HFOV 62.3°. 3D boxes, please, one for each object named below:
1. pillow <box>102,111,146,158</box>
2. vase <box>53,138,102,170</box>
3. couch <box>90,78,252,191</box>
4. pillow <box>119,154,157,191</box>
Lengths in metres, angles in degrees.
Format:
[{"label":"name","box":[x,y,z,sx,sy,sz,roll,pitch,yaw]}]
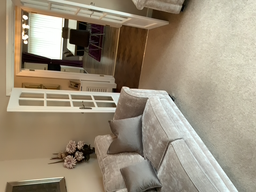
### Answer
[{"label":"pillow","box":[-0.040,0.460,2.560,0.150,0.380,0.440,2,68,60]},{"label":"vase","box":[-0.830,0.930,3.470,0.390,0.710,0.300,-142,57,-62]},{"label":"couch","box":[0.270,0.760,2.270,1.740,0.900,1.030,-114,34,-45]},{"label":"pillow","box":[0.100,0.840,2.260,0.150,0.330,0.340,-50,31,26]}]
